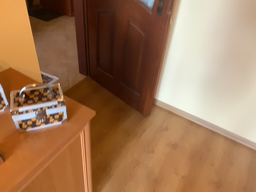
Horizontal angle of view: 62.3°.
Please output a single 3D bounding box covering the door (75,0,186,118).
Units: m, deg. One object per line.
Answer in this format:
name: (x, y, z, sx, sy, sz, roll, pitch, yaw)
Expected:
door: (-0.040, -0.810, 1.520, 0.960, 1.960, 0.150, 33, 47, 28)
